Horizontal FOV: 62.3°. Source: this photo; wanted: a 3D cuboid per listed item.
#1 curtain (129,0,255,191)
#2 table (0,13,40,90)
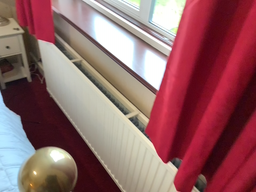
[{"bbox_3d":[0.300,-0.360,0.130,0.140,1.820,0.440,-22,49,-32],"label":"curtain"},{"bbox_3d":[-1.120,-0.430,2.000,0.360,0.530,0.400,-22,49,-31],"label":"table"}]
